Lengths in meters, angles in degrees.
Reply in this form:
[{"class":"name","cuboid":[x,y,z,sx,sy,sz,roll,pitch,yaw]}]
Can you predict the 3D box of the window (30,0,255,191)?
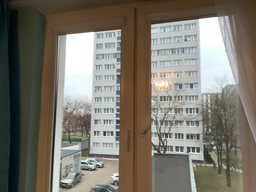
[{"class":"window","cuboid":[0.110,0.180,1.330,1.520,1.850,0.180,-1,-7,16]}]
